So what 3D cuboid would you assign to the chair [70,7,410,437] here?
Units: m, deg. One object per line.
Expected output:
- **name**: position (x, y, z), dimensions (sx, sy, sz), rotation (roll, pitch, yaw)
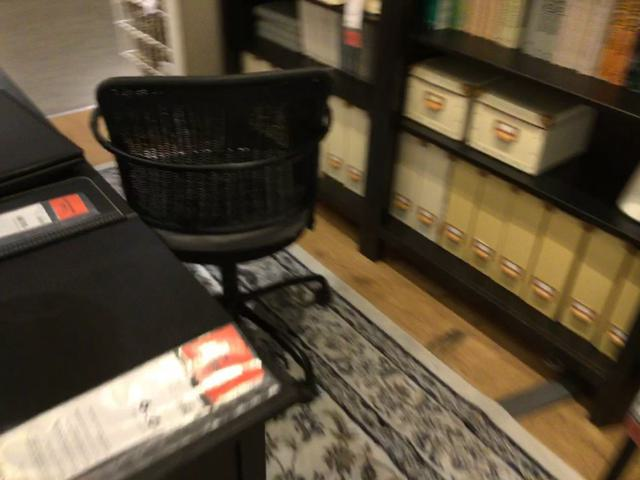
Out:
- **chair**: position (-0.210, -0.070, 1.400), dimensions (0.550, 0.800, 0.530), rotation (-12, 37, -21)
